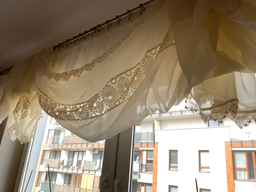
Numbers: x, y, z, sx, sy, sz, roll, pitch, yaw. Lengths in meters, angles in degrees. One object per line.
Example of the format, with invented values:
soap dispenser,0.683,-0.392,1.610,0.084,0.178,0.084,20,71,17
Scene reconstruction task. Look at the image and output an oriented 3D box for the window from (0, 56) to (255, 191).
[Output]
window,-0.110,0.560,1.270,2.250,1.240,0.220,-10,-24,36
